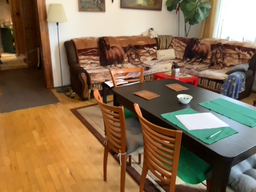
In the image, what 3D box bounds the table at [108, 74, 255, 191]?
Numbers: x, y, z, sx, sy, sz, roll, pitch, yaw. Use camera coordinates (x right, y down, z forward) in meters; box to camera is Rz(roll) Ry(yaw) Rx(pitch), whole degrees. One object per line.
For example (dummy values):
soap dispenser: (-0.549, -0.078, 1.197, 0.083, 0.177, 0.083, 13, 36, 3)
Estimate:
table: (0.530, 0.390, 1.970, 0.890, 0.790, 1.340, -12, 25, -32)
